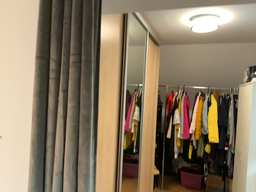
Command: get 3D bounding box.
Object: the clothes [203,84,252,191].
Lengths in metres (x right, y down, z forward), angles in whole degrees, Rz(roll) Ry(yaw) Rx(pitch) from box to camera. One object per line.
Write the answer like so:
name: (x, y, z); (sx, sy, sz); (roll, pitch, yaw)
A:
clothes: (1.570, 0.580, 3.370); (0.540, 1.490, 0.880); (4, 2, 26)

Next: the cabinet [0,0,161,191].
cabinet: (-0.210, 0.350, 2.380); (0.620, 2.440, 2.360); (4, 2, 18)
